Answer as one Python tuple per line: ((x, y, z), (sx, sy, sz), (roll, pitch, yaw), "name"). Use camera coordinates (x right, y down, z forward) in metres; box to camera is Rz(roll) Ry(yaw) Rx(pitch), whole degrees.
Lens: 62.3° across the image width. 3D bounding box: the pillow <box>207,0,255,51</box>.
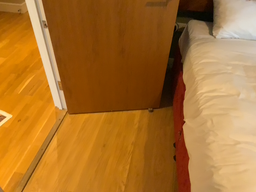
((0.910, -0.590, 1.590), (0.540, 0.290, 0.160), (-15, 30, 28), "pillow")
